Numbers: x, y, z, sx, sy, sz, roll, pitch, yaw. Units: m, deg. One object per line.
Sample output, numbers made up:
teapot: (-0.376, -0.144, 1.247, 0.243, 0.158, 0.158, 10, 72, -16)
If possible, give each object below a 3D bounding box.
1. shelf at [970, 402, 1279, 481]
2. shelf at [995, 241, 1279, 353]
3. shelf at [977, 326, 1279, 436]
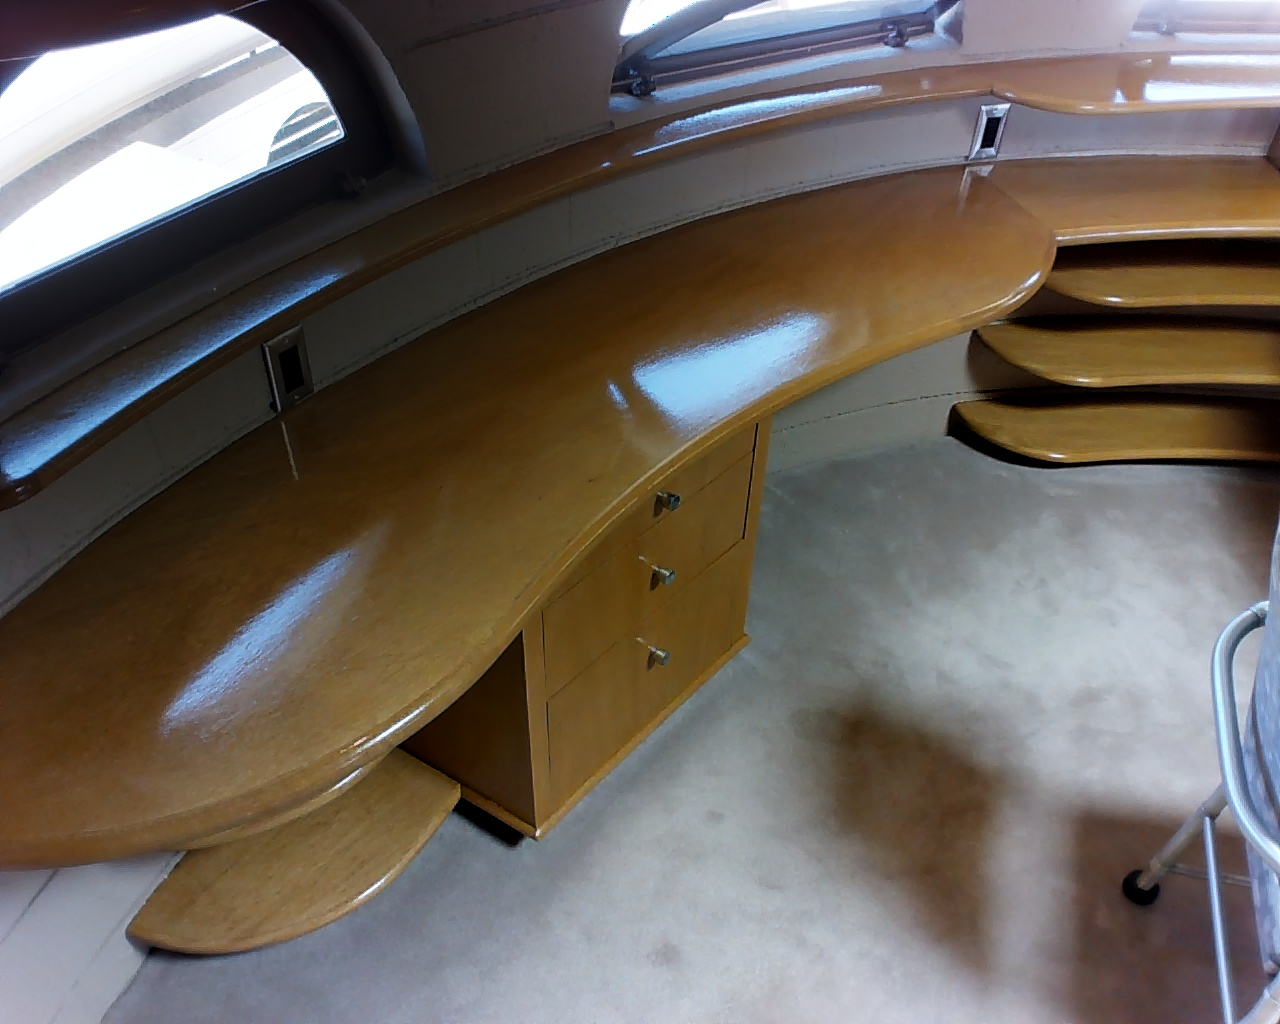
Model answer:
shelf: (1.350, -0.170, 2.580, 1.050, 0.100, 0.180, 0, 41, -2)
shelf: (1.300, -0.470, 2.340, 0.960, 0.130, 0.250, 0, 41, -2)
shelf: (1.340, -0.300, 2.440, 1.060, 0.130, 0.250, 0, 41, -2)
